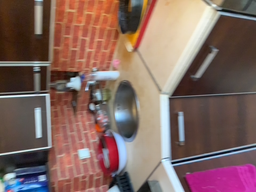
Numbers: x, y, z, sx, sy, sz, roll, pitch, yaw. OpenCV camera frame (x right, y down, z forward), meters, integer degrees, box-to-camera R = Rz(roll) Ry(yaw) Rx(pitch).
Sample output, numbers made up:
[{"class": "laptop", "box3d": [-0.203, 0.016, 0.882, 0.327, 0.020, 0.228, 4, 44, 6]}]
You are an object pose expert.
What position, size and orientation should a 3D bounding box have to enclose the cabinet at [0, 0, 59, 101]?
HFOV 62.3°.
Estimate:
[{"class": "cabinet", "box3d": [-0.660, -0.340, 0.940, 0.720, 0.610, 0.330, 113, 144, -42]}]
